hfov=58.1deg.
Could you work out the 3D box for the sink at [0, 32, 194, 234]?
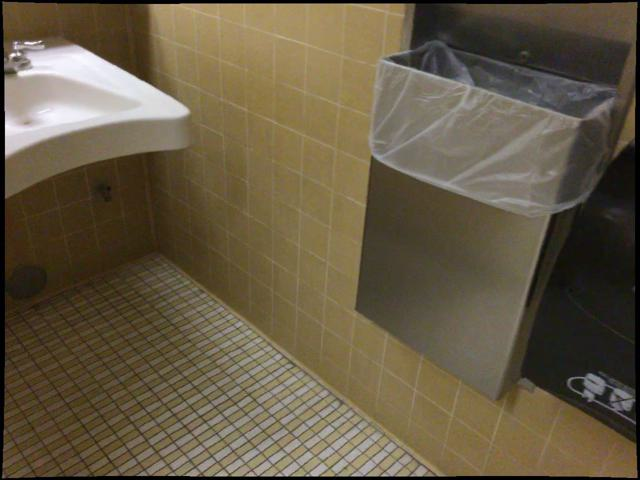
[{"bbox_3d":[-0.738,-0.301,1.400,0.529,0.190,0.699,-27,42,-37],"label":"sink"}]
